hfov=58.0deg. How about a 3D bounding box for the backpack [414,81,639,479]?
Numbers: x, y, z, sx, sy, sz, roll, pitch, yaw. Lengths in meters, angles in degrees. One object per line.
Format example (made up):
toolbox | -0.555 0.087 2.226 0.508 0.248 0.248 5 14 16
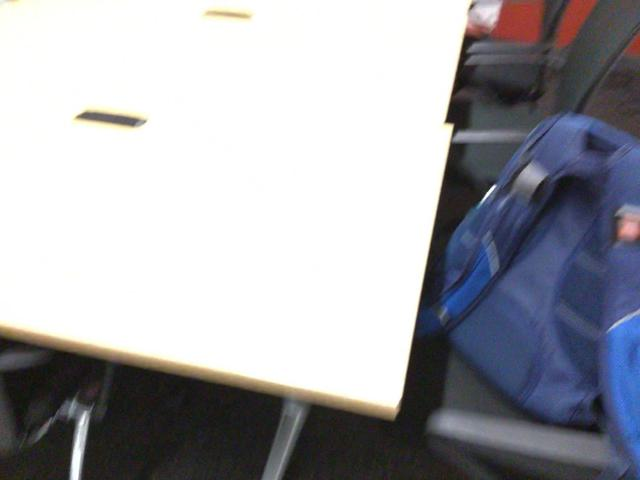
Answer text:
backpack | 0.380 0.070 0.930 0.330 0.440 0.480 11 39 10

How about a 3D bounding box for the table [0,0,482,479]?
table | -0.370 -0.370 1.870 1.560 0.820 2.350 12 39 10
